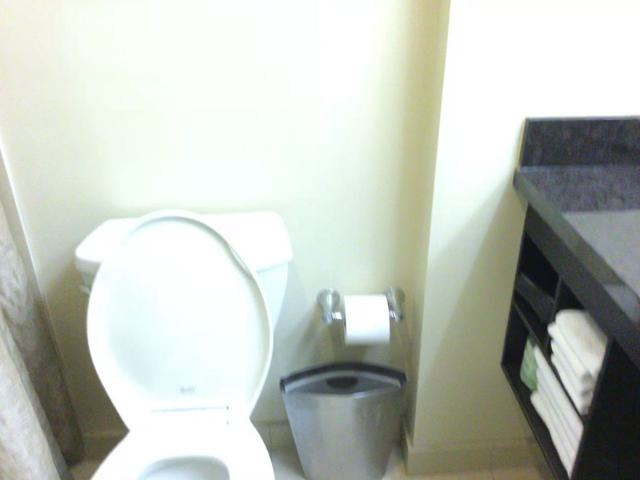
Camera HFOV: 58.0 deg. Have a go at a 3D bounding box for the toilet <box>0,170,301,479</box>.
[{"bbox_3d":[-0.280,0.410,1.130,0.480,0.860,0.750,-2,28,-3],"label":"toilet"}]
